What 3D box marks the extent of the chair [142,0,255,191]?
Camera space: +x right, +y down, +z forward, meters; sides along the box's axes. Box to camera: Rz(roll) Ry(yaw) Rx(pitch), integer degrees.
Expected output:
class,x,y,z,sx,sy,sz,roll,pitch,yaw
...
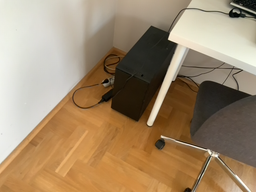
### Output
class,x,y,z,sx,sy,sz,roll,pitch,yaw
chair,0.560,0.110,1.030,0.680,0.840,0.660,19,51,5
